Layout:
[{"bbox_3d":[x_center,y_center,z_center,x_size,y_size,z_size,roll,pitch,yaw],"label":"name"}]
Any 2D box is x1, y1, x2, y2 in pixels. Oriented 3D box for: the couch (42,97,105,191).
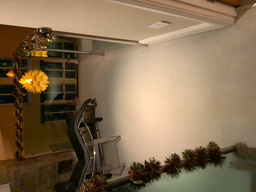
[{"bbox_3d":[-0.930,0.820,3.480,0.600,0.670,1.470,-32,66,53],"label":"couch"}]
